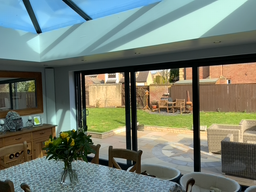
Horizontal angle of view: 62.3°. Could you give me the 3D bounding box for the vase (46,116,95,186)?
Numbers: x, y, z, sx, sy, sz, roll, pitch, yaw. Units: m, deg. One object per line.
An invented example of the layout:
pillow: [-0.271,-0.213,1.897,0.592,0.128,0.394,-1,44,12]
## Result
vase: [-0.540,0.490,2.020,0.290,0.550,0.320,1,3,37]
